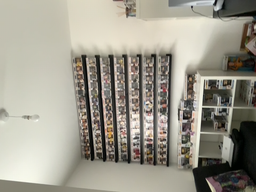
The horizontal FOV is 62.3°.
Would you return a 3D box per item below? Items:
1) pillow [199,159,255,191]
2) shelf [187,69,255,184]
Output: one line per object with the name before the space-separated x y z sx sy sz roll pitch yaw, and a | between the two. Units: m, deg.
pillow | 0.970 0.870 2.110 0.140 0.410 0.450 65 -164 -12
shelf | 1.260 0.400 2.860 0.410 0.770 1.470 -62 -28 -70
